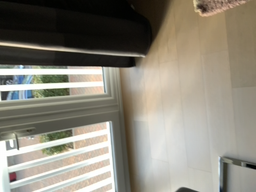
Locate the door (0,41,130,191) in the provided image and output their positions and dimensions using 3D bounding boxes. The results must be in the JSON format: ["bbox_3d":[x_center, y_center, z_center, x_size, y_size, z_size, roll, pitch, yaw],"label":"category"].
[{"bbox_3d":[-0.890,0.670,1.720,0.120,2.190,2.200,-5,90,50],"label":"door"}]
